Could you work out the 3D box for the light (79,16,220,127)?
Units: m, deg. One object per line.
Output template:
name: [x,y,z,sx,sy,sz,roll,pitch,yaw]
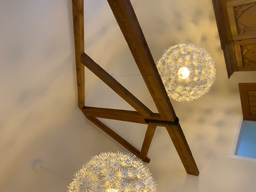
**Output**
light: [0.330,-0.300,3.740,1.090,2.080,1.380,15,-100,-51]
